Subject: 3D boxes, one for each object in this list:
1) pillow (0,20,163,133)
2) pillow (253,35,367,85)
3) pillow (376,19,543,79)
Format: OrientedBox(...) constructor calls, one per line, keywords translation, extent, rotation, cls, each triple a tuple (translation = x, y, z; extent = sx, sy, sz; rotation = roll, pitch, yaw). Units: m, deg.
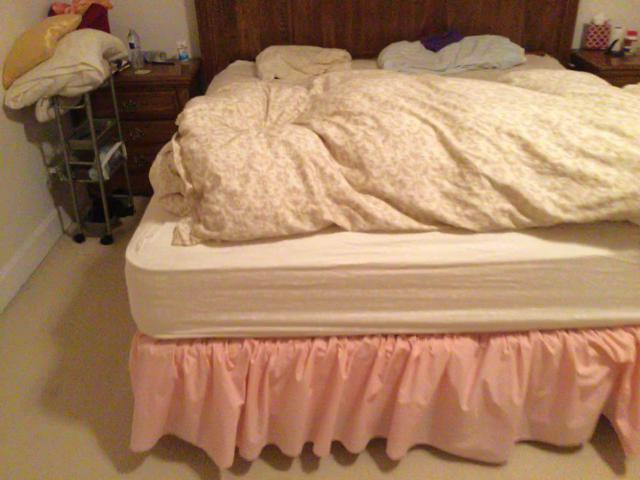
OrientedBox(translation=(-1.030, -0.750, 2.580), extent=(0.420, 0.350, 0.680), rotation=(-3, 26, 3), cls="pillow")
OrientedBox(translation=(-0.040, -0.910, 2.900), extent=(0.520, 0.140, 0.490), rotation=(-3, 26, 3), cls="pillow")
OrientedBox(translation=(0.660, -0.960, 2.880), extent=(0.730, 0.180, 0.450), rotation=(-3, 26, 3), cls="pillow")
